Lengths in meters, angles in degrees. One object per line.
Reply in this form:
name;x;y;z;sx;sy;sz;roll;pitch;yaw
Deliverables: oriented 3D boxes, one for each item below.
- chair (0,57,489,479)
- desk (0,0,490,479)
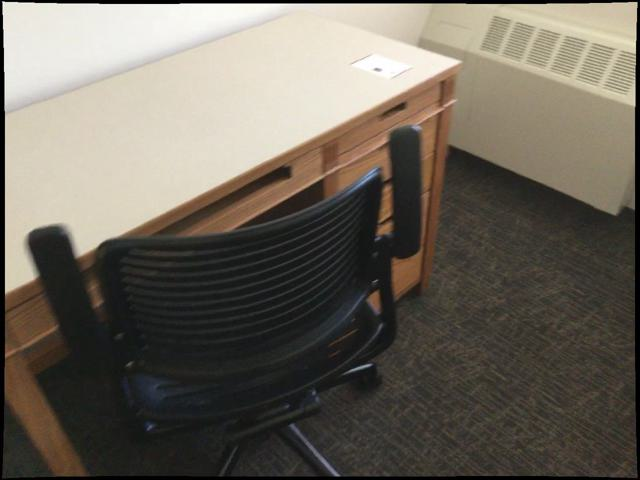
chair;-0.130;0.201;1.170;0.619;0.891;0.510;-11;42;-9
desk;-0.249;0.010;1.490;1.219;0.761;0.669;-34;50;-31
